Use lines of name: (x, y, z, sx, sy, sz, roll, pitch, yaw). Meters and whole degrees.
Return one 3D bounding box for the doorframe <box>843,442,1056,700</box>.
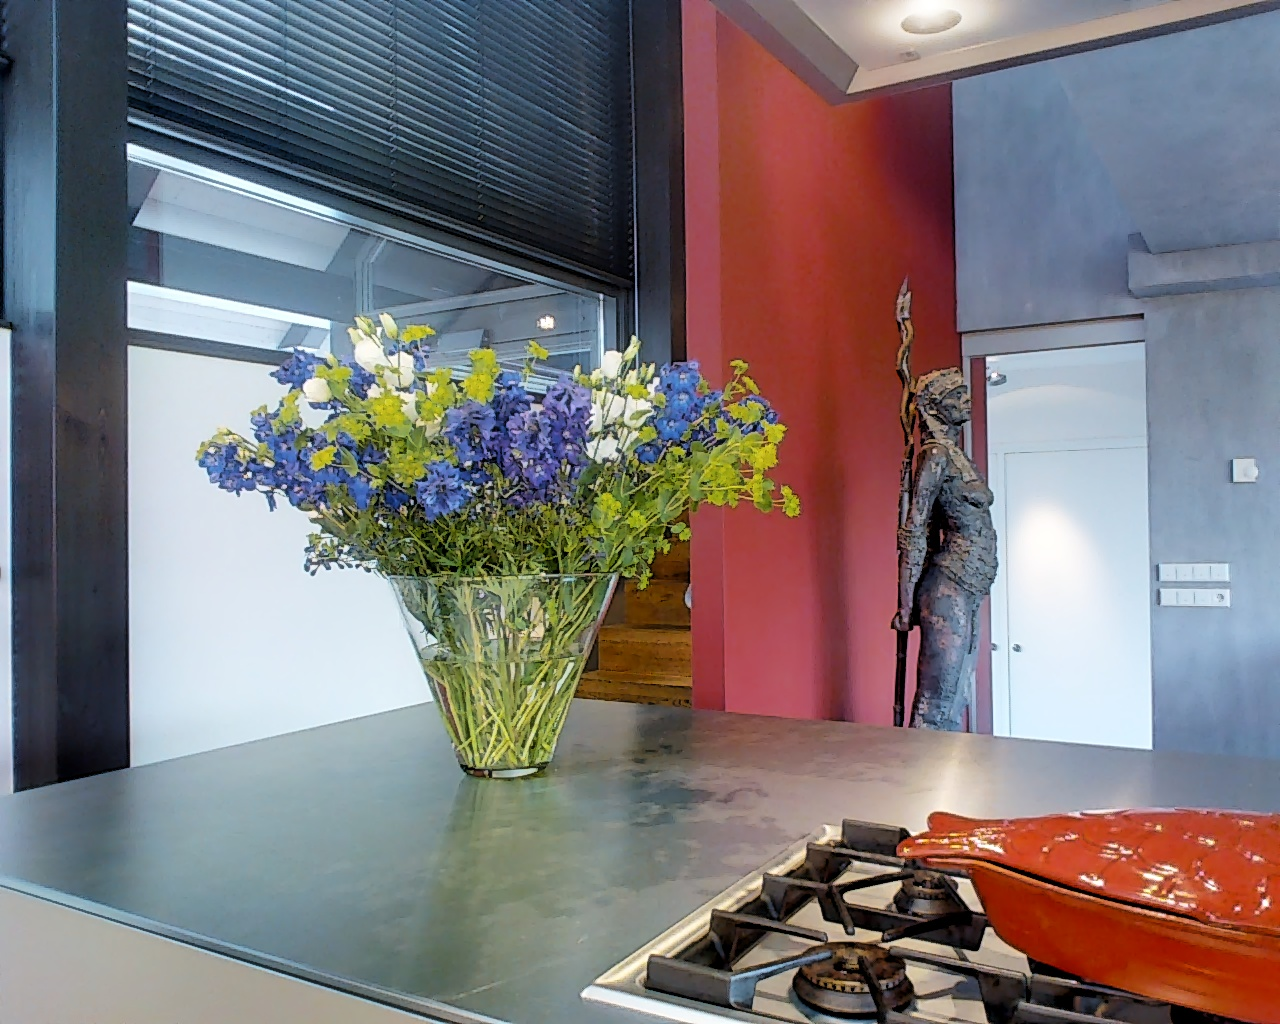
doorframe: (2.150, 0.400, 7.590, 1.460, 1.720, 0.070, -1, 0, 31)
